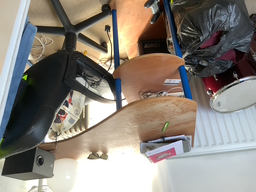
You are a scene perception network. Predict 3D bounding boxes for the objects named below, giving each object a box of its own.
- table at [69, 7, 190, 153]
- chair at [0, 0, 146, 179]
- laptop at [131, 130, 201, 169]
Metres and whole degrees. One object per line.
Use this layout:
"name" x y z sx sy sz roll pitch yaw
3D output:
"table" 0.010 -0.070 1.500 0.690 0.800 0.340 17 145 -35
"chair" -0.380 -0.080 1.250 0.640 0.960 0.650 -21 148 29
"laptop" 0.260 0.380 1.420 0.380 0.110 0.490 -9 152 9
